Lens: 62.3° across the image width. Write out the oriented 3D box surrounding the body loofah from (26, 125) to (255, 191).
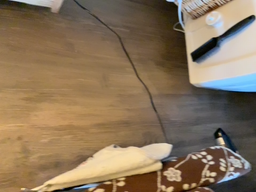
[{"bbox_3d":[0.150,0.240,0.690,0.220,0.850,0.230,-13,79,58],"label":"body loofah"}]
